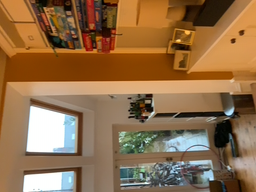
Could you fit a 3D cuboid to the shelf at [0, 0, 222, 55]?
[{"bbox_3d":[-0.260,-0.780,1.630,1.290,1.830,0.340,112,156,-72],"label":"shelf"}]
